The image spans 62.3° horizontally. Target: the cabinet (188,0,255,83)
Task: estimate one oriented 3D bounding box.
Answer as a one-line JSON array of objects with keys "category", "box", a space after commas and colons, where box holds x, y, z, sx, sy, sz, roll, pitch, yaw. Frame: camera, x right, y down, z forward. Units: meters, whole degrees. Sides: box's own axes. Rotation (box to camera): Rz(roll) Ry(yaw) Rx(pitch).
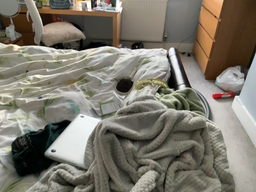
[{"category": "cabinet", "box": [1.230, -0.820, 2.720, 0.550, 0.990, 0.840, 4, 33, 1]}]
